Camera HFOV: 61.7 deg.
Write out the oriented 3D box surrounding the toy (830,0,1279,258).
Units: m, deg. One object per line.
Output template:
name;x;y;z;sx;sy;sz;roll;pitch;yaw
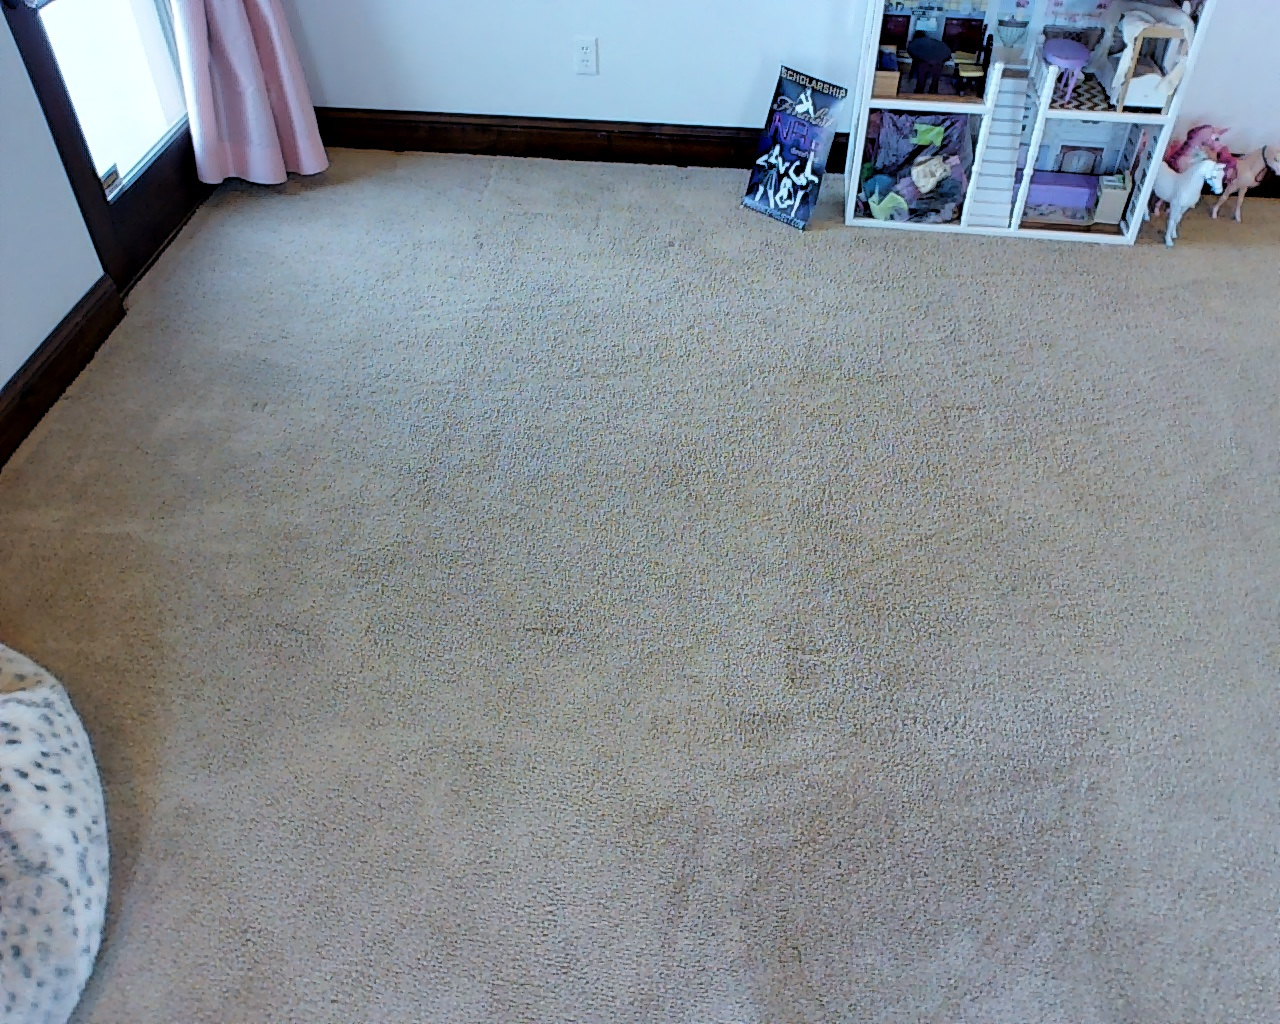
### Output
toy;1.080;-1.360;2.780;1.010;1.300;0.380;4;44;5
